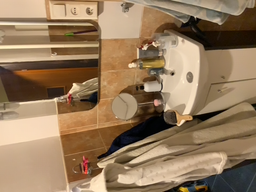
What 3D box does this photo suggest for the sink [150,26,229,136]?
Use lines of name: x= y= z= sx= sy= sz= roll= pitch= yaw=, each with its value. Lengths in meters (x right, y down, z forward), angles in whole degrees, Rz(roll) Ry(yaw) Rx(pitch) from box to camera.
sink: x=0.320 y=-0.100 z=1.270 sx=0.400 sy=0.130 sz=0.520 roll=-124 pitch=34 yaw=-50
